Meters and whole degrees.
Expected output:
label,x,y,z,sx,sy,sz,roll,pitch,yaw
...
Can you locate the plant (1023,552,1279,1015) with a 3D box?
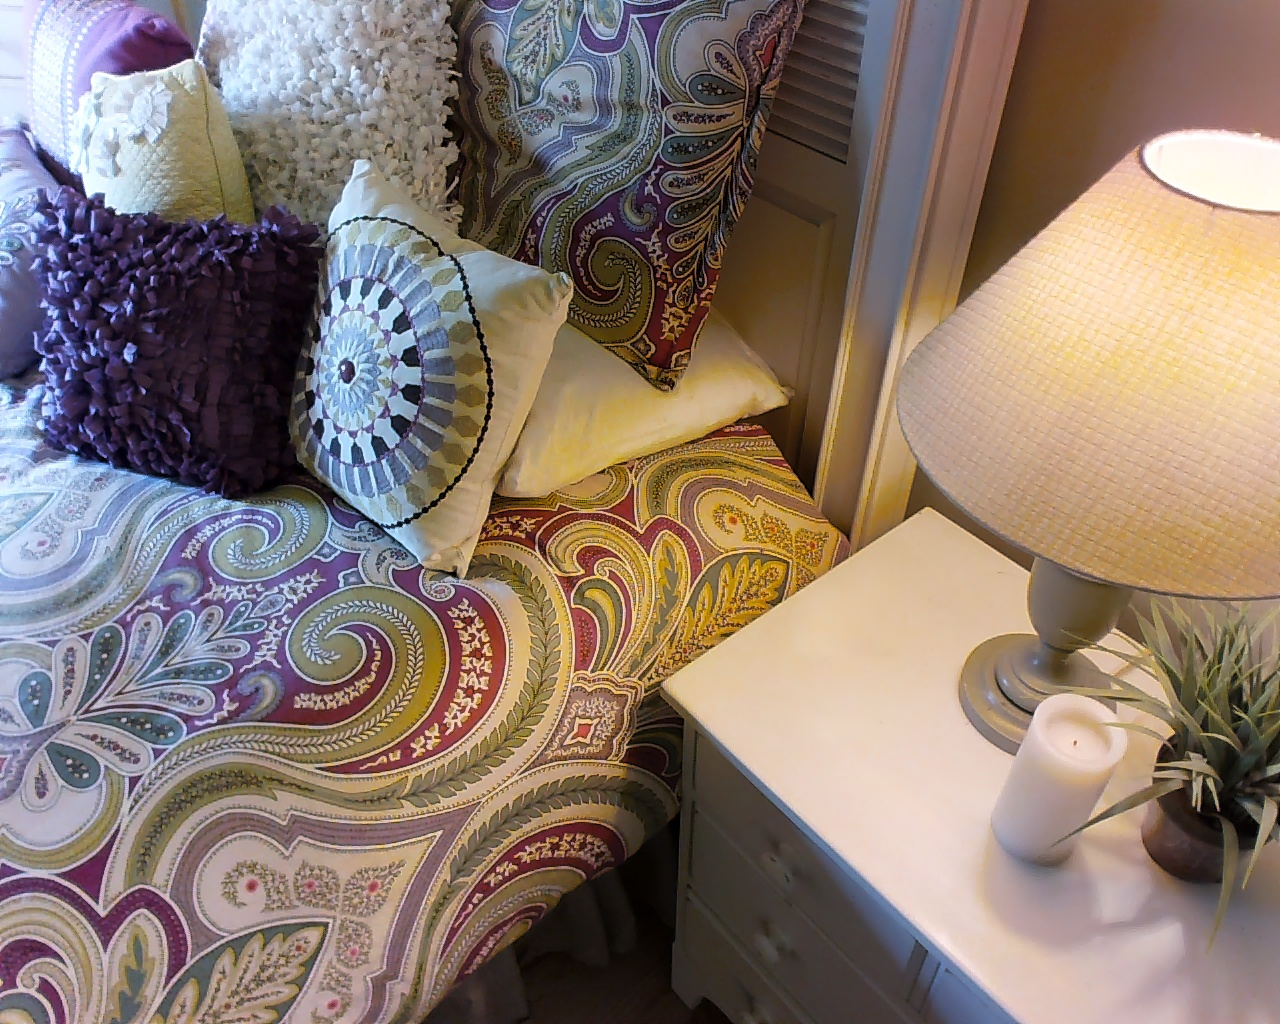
label,x,y,z,sx,sy,sz,roll,pitch,yaw
plant,0.490,0.220,0.890,0.210,0.250,0.190,-27,49,-27
